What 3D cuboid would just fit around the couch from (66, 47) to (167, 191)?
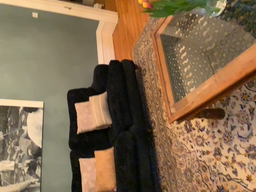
[{"bbox_3d":[-0.270,0.560,2.580,1.050,0.820,1.920,130,138,-56],"label":"couch"}]
